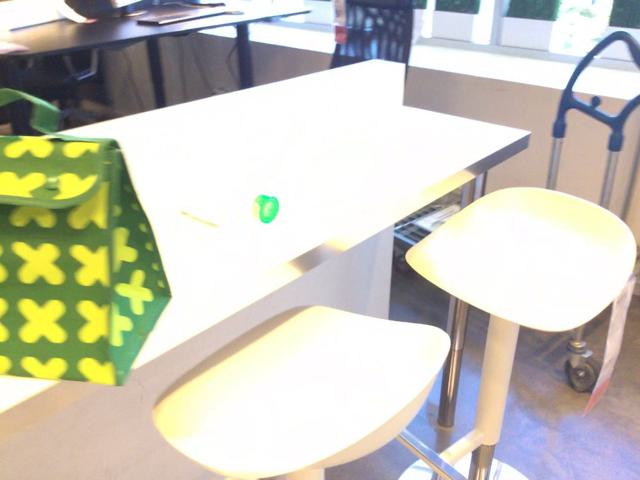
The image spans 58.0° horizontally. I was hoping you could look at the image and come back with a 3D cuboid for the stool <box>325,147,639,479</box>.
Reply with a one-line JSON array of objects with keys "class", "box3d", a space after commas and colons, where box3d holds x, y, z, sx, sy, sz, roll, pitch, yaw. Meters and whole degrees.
[{"class": "stool", "box3d": [0.370, 0.290, 1.280, 0.530, 0.830, 0.470, 21, 30, 38]}]
